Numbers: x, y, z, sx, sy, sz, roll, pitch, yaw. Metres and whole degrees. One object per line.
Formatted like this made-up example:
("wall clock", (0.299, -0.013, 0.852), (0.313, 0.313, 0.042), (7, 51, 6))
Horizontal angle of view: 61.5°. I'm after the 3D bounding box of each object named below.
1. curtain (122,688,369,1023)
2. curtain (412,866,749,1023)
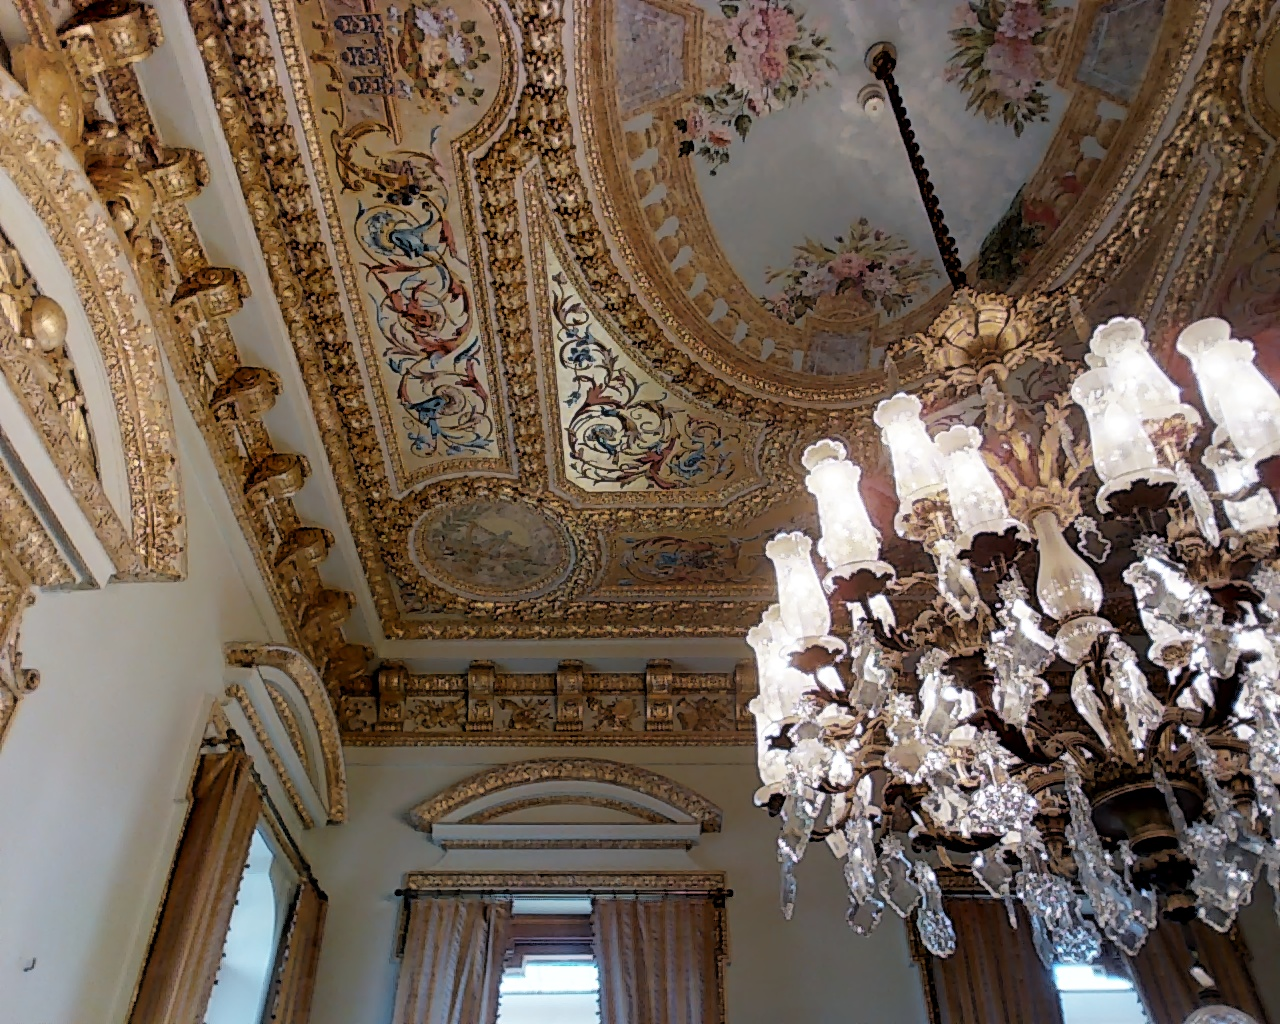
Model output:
("curtain", (-1.699, 2.952, 4.010), (0.240, 4.222, 1.821), (-1, -42, 1))
("curtain", (-0.300, 3.322, 4.840), (1.679, 3.451, 0.320), (-1, -42, 1))
